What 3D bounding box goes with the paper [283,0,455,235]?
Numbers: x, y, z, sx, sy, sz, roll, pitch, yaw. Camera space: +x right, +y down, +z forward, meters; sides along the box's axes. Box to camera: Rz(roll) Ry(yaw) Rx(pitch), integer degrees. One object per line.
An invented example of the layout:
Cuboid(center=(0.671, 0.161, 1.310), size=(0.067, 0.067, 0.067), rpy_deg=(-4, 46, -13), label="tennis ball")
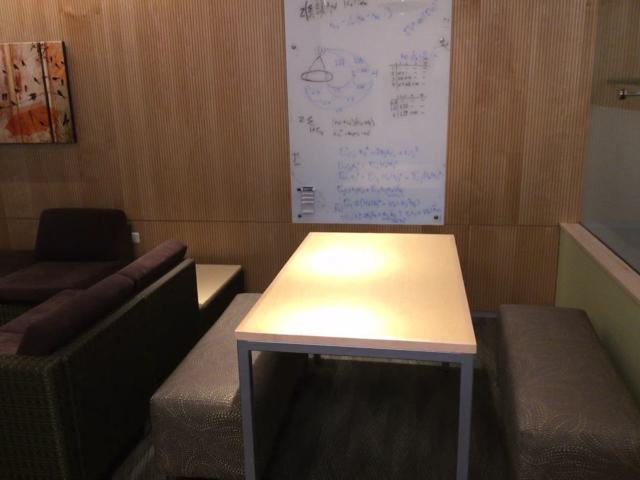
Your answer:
Cuboid(center=(0.280, -0.730, 3.390), size=(0.930, 1.410, 0.150), rpy_deg=(0, 16, 5), label="paper")
